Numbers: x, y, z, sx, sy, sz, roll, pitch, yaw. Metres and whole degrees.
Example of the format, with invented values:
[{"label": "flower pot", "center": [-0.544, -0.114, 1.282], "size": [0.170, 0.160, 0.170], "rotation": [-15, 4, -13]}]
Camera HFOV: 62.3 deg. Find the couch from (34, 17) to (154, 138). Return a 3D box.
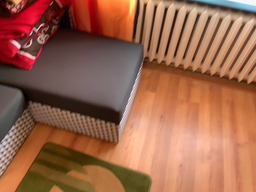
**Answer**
[{"label": "couch", "center": [-0.200, -0.170, 1.640], "size": [0.610, 0.440, 0.710], "rotation": [14, 51, 6]}]
